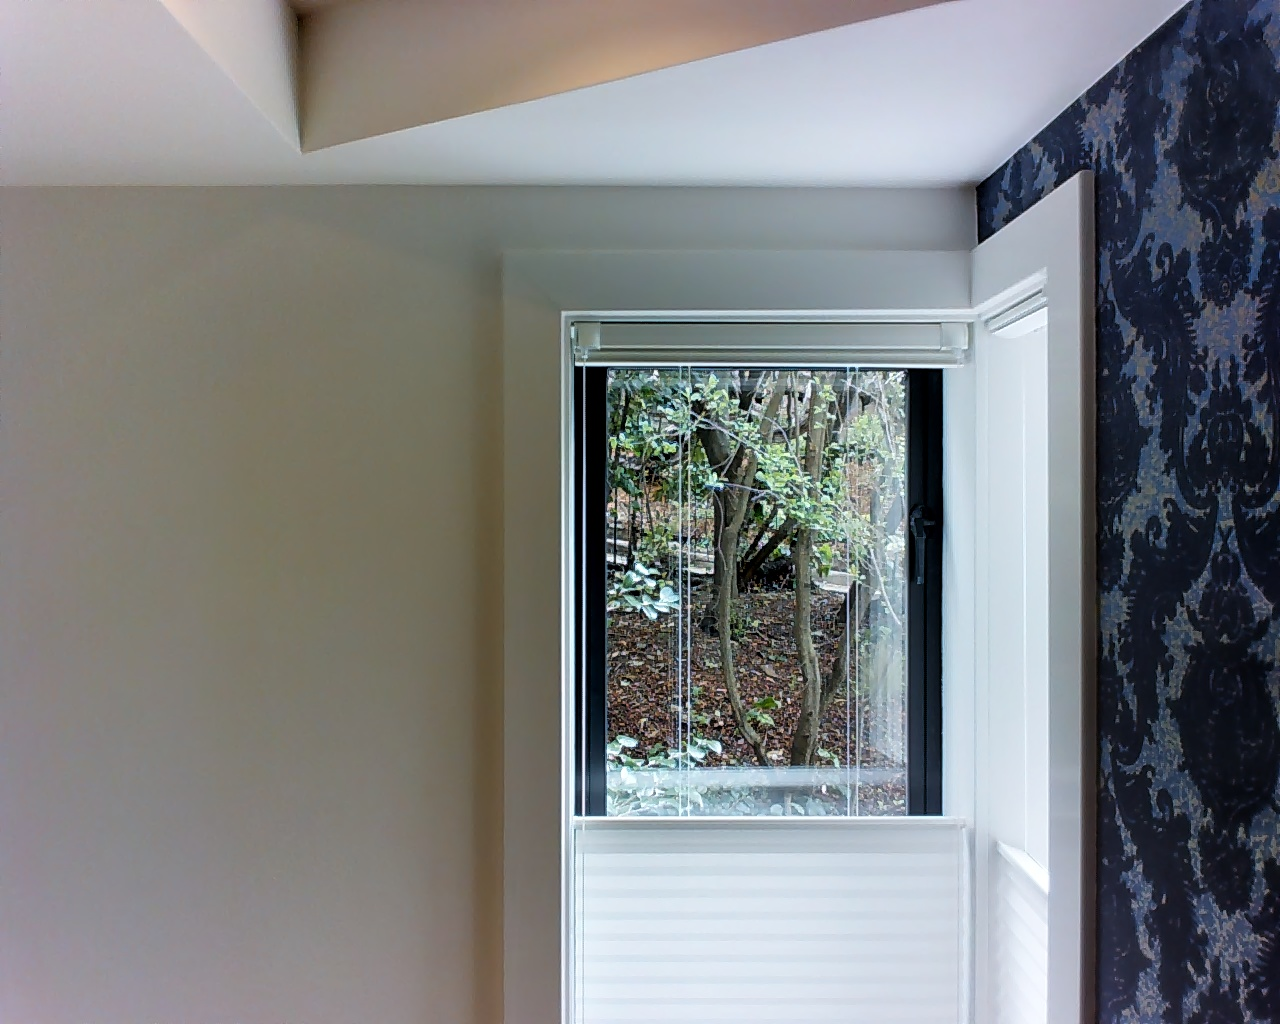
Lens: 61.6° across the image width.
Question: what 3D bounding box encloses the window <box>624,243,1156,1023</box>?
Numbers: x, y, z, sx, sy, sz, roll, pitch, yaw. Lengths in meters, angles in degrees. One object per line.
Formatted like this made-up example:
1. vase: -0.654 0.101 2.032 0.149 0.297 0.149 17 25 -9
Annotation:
1. window: 0.300 0.340 1.490 0.630 1.320 0.410 0 0 0
